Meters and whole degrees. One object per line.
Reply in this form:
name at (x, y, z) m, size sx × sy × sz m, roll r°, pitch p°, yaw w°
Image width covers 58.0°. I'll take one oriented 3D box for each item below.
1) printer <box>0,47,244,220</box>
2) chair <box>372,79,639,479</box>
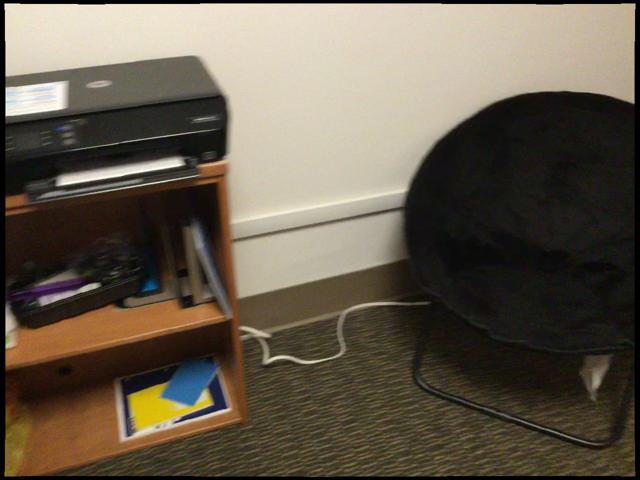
printer at (-0.419, -0.230, 1.130) m, size 0.449 × 0.160 × 0.350 m, roll -12°, pitch 35°, yaw -18°
chair at (0.649, 0.080, 1.560) m, size 0.858 × 0.731 × 0.820 m, roll 7°, pitch 34°, yaw 12°
